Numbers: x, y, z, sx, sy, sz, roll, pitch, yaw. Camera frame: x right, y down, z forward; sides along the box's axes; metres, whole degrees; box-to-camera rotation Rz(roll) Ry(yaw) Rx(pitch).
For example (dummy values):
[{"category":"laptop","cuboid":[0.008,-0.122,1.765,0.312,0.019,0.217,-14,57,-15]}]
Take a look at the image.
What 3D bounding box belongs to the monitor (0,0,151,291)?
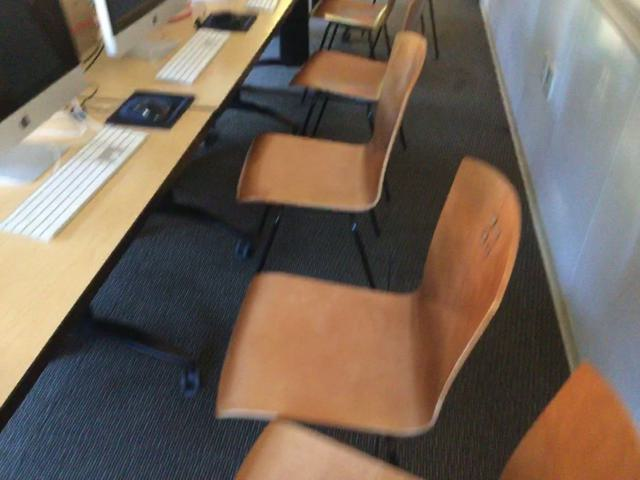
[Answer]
[{"category":"monitor","cuboid":[-0.570,-0.240,1.150,0.200,0.440,0.500,5,41,7]}]
